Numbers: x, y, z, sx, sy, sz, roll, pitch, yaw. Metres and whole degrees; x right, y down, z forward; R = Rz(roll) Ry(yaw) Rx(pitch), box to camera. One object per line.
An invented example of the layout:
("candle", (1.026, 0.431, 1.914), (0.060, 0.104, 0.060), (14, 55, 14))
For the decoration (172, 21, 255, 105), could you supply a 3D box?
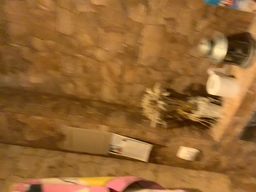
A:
("decoration", (0.360, -0.130, 0.900), (0.130, 0.250, 0.290), (-87, 7, -53))
